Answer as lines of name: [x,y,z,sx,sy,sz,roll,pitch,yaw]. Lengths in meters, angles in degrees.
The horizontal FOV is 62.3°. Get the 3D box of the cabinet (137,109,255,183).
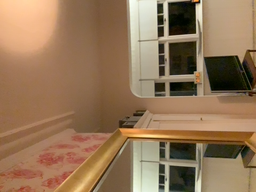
cabinet: [1.160,0.500,2.570,1.280,1.940,0.510,-22,-70,-80]
